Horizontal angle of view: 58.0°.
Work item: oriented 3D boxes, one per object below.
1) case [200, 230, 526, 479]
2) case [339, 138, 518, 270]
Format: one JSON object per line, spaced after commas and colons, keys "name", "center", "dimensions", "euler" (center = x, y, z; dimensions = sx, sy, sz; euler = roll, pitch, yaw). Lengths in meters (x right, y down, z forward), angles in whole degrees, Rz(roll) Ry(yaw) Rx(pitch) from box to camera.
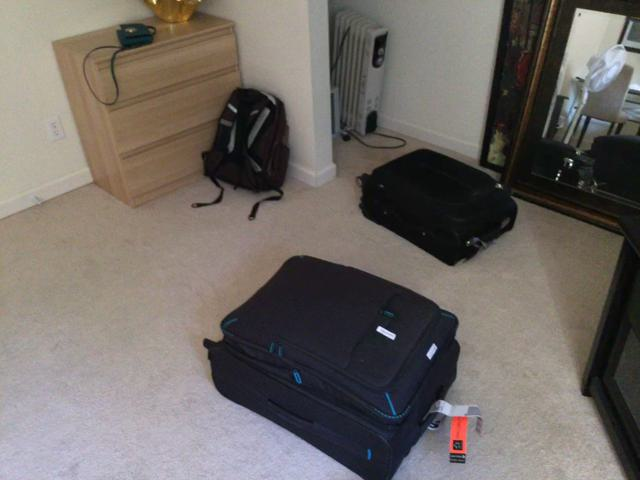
{"name": "case", "center": [0.100, 0.340, 1.660], "dimensions": [0.740, 0.380, 0.490], "euler": [24, 36, 36]}
{"name": "case", "center": [0.440, -0.180, 2.440], "dimensions": [0.610, 0.290, 0.380], "euler": [24, 36, 36]}
